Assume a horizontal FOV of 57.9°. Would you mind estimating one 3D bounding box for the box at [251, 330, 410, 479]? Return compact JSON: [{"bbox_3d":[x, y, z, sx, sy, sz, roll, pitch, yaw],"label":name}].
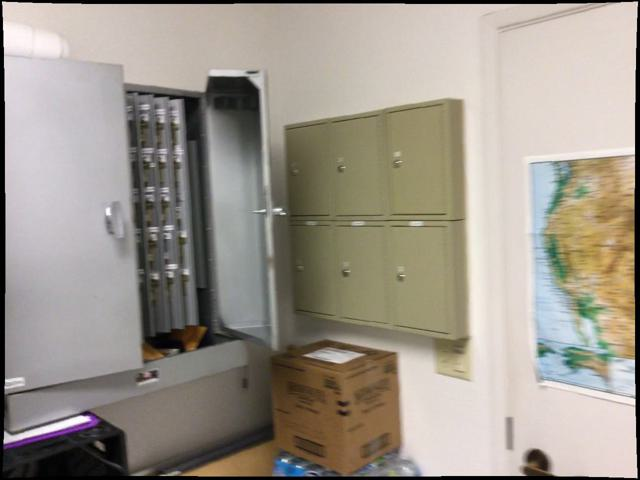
[{"bbox_3d":[0.030,0.511,1.750,0.390,0.370,0.270,4,8,45],"label":"box"}]
